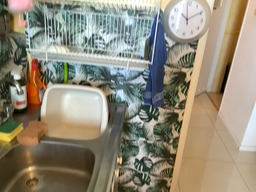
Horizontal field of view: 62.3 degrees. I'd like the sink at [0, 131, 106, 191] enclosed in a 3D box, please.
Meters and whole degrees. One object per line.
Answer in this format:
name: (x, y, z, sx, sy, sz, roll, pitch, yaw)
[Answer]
sink: (-0.320, 0.330, 0.810, 0.410, 0.180, 0.350, 6, 24, 2)
